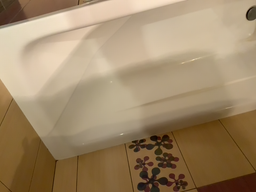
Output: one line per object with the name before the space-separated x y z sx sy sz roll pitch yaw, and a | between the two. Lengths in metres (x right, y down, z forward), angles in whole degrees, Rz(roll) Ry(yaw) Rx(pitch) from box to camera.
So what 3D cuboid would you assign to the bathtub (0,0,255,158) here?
bathtub | 0.280 -0.300 1.120 1.600 0.560 0.670 -14 128 -1
